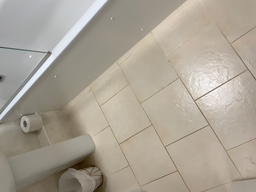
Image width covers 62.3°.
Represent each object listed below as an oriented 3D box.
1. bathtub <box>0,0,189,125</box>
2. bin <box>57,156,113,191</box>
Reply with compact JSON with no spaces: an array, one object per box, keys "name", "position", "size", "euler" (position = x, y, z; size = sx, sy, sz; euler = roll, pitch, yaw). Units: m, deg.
[{"name":"bathtub","position":[-0.390,-0.520,1.400],"size":[1.640,0.550,0.690],"euler":[-36,75,29]},{"name":"bin","position":[-0.330,0.660,1.630],"size":[0.250,0.250,0.250],"euler":[-35,75,29]}]
